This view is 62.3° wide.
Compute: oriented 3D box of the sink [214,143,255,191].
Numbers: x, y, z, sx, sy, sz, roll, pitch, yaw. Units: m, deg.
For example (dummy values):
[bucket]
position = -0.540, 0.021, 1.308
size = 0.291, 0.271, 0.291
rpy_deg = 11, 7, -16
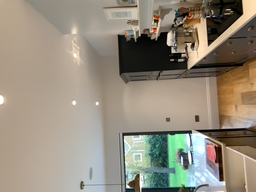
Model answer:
[sink]
position = 1.110, 0.760, 2.140
size = 0.430, 0.310, 0.490
rpy_deg = 33, -125, -86
